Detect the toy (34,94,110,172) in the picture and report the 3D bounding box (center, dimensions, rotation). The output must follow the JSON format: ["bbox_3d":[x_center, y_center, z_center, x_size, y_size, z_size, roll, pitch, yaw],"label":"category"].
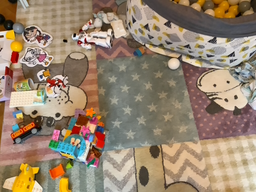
[{"bbox_3d":[-0.240,0.190,0.990,0.250,0.330,0.250,-11,68,-6],"label":"toy"}]

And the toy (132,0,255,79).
[{"bbox_3d":[0.440,-0.600,1.300,0.800,0.440,0.880,0,68,-2],"label":"toy"}]
